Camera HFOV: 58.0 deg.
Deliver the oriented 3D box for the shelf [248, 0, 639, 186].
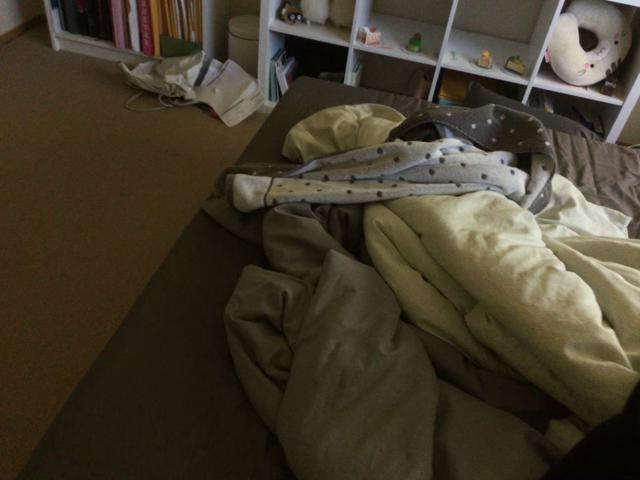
[{"bbox_3d":[0.530,-0.860,2.280,1.560,0.890,0.420,13,42,7],"label":"shelf"}]
